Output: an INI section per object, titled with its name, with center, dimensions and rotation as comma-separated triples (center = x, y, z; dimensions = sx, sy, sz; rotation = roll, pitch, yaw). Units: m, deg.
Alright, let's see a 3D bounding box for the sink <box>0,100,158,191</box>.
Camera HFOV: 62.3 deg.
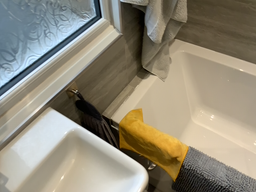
[sink]
center = -0.230, 0.320, 0.520
dimensions = 0.370, 0.140, 0.560
rotation = 26, 58, 22
